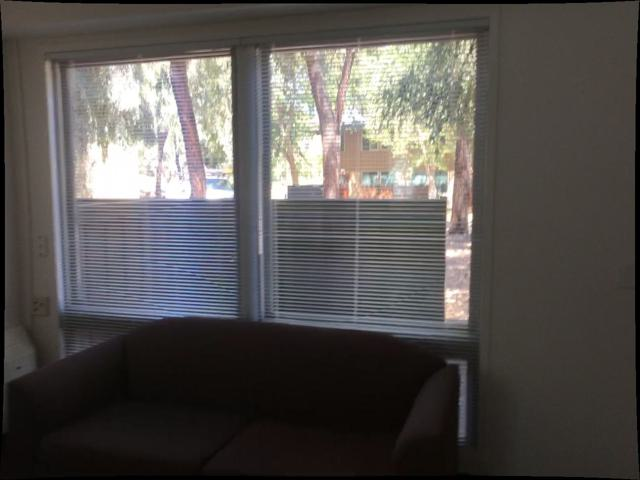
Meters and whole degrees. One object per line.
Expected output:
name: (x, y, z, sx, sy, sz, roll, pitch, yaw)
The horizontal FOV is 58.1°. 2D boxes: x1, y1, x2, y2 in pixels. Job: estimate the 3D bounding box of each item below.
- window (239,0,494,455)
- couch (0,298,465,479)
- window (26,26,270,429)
window: (0.250, -0.050, 2.890, 1.148, 2.013, 0.410, 1, 8, 20)
couch: (-0.329, 0.821, 2.650, 1.827, 0.771, 1.120, 1, 8, 20)
window: (-0.948, -0.050, 3.250, 1.198, 2.023, 0.370, 1, 8, 20)
